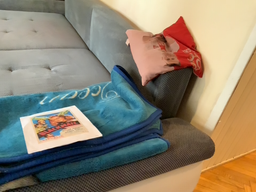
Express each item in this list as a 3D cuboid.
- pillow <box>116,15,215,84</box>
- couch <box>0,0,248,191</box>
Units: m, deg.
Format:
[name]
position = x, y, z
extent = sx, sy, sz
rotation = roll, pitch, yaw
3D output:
[pillow]
position = 0.150, -0.240, 1.020
extent = 0.260, 0.160, 0.400
rotation = -6, 37, -27
[couch]
position = -0.610, -0.340, 1.620
extent = 1.000, 0.730, 2.500
rotation = -6, 37, -27
